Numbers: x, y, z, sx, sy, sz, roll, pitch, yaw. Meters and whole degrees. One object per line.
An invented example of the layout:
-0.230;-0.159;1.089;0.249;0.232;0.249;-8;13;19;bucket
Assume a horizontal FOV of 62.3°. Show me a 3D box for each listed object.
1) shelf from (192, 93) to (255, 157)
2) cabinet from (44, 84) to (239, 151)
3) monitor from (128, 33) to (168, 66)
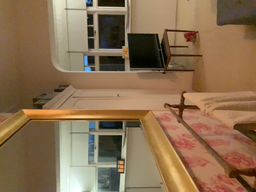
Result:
0.800;0.120;1.100;0.360;0.810;0.200;-108;18;-76;shelf
0.120;0.180;2.830;1.330;1.980;0.460;-110;20;-77;cabinet
0.300;-0.750;3.360;0.040;0.560;0.710;96;172;-55;monitor
